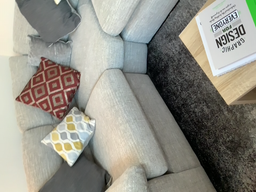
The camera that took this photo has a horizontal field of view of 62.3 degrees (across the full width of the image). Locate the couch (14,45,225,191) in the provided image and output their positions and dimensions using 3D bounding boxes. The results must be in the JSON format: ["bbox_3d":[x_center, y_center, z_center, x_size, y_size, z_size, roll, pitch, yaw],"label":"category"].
[{"bbox_3d":[-0.220,0.480,1.570,1.070,0.840,1.180,-51,53,40],"label":"couch"}]
